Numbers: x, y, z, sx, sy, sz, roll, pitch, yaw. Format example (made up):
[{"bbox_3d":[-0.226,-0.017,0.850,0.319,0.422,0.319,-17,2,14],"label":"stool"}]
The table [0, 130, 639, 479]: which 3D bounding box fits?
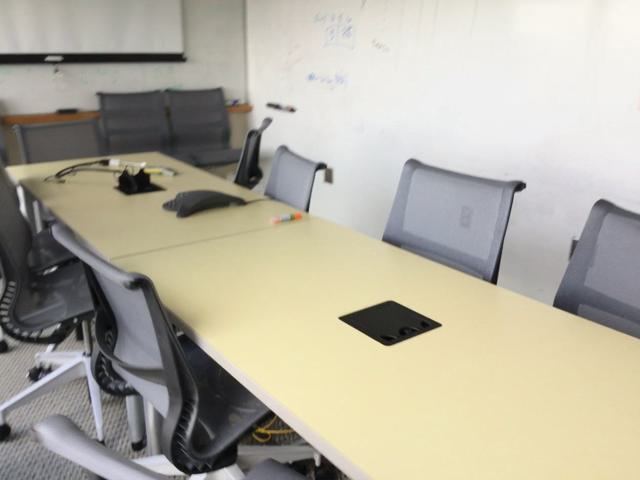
[{"bbox_3d":[-0.340,0.260,2.020,0.910,0.800,3.090,-13,24,-34],"label":"table"}]
